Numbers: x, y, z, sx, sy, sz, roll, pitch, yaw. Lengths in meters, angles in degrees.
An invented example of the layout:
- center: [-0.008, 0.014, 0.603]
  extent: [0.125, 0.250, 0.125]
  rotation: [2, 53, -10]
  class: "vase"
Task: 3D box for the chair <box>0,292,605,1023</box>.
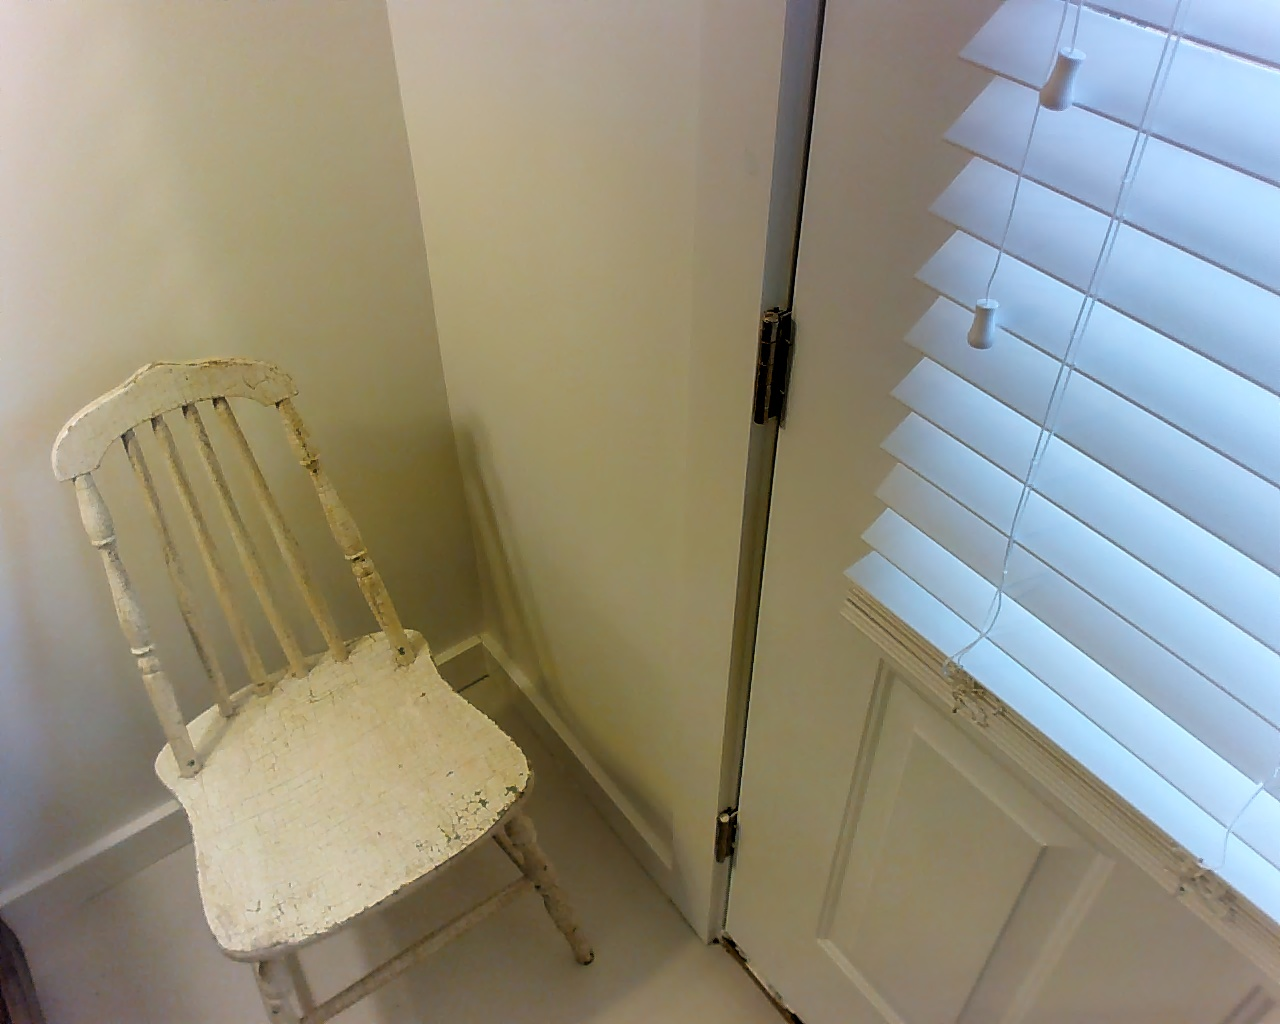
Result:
- center: [-0.390, 0.300, 1.350]
  extent: [0.440, 0.910, 0.510]
  rotation: [-28, 49, -25]
  class: "chair"
